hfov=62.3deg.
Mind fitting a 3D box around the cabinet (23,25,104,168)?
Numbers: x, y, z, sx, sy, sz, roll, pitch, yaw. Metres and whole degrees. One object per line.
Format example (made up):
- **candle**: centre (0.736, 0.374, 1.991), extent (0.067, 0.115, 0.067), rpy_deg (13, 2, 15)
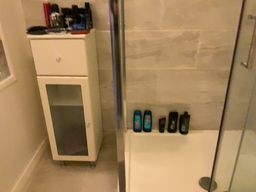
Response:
- **cabinet**: centre (-0.440, 0.030, 1.700), extent (0.390, 1.100, 0.360), rpy_deg (0, 25, 1)
